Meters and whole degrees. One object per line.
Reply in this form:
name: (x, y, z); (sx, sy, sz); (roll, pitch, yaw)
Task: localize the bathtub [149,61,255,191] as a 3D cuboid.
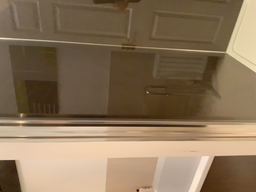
bathtub: (0.650, 0.610, 1.850); (0.710, 0.560, 1.640); (-103, 17, -57)
